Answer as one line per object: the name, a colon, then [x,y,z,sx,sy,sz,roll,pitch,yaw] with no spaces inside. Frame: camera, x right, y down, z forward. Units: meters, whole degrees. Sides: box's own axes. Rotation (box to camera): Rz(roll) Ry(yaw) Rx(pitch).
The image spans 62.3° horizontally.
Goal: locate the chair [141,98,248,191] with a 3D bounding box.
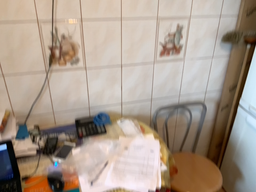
chair: [0.360,0.490,1.410,0.380,0.790,0.460,-7,28,-16]
